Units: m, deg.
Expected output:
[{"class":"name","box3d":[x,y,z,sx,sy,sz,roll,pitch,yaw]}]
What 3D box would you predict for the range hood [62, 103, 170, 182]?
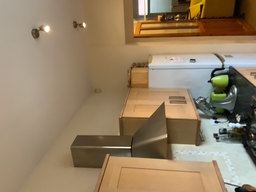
[{"class":"range hood","box3d":[-0.060,0.370,1.860,0.530,0.790,0.410,-74,-17,-65]}]
